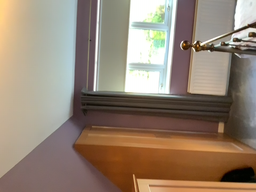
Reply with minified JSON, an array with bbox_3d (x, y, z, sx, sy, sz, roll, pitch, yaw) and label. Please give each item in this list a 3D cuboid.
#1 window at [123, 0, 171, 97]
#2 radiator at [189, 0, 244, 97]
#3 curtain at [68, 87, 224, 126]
[{"bbox_3d":[0.290,-0.800,3.290,0.060,0.630,1.580,-127,41,-85],"label":"window"},{"bbox_3d":[1.260,-0.690,3.050,0.100,0.620,1.360,-120,34,-84],"label":"radiator"},{"bbox_3d":[0.270,0.150,3.070,0.160,2.190,0.410,-137,51,-86],"label":"curtain"}]
